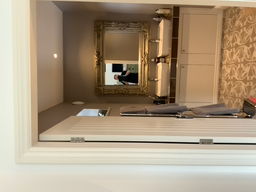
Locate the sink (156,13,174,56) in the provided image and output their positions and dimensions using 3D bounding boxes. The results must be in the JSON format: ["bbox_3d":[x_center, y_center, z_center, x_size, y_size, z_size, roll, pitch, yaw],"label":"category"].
[{"bbox_3d":[0.590,-0.970,3.430,0.420,0.170,0.590,-112,23,-84],"label":"sink"}]
